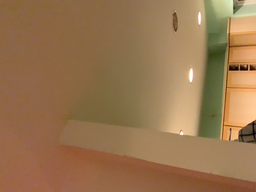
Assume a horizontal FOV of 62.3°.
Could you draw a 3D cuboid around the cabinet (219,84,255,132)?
[{"bbox_3d":[1.650,0.170,3.140,0.320,0.500,0.600,47,-129,-54],"label":"cabinet"}]
